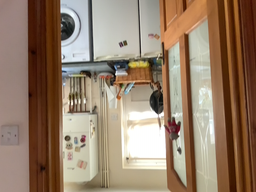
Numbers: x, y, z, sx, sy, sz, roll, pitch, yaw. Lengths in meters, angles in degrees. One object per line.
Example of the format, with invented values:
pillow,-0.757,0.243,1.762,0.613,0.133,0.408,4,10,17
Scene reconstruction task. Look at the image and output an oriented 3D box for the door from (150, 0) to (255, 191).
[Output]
door,0.340,-0.250,1.230,0.160,1.990,0.830,-2,177,-9
